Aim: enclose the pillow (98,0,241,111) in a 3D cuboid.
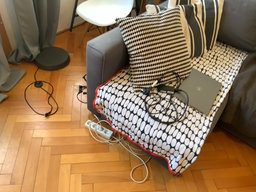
[{"bbox_3d":[0.350,-0.440,1.630,0.500,0.400,1.090,36,50,22],"label":"pillow"}]
